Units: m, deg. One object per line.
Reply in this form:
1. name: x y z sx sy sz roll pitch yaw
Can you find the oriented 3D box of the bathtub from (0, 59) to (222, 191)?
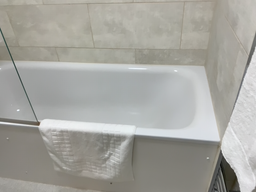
1. bathtub: -0.340 0.170 1.500 1.670 0.570 0.680 3 37 9
